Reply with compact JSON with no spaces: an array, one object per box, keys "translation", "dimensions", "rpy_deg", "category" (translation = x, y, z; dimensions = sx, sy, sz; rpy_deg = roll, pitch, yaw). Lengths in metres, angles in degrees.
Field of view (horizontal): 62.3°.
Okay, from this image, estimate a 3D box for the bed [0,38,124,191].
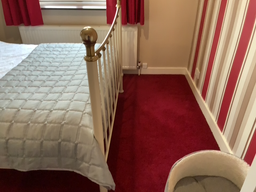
[{"translation":[-1.170,0.030,1.960],"dimensions":[2.200,0.650,1.640],"rpy_deg":[1,32,1],"category":"bed"}]
